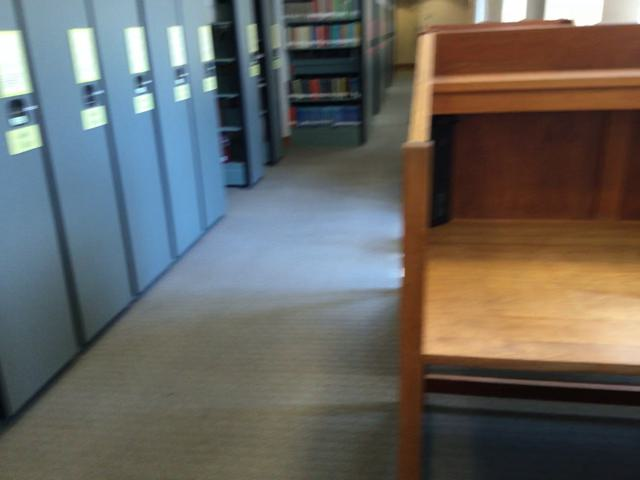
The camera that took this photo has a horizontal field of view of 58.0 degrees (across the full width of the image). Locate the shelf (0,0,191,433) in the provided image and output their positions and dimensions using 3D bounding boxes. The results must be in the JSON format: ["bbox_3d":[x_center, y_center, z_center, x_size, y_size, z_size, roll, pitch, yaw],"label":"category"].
[{"bbox_3d":[-1.110,-0.470,2.620,0.180,1.970,1.610,-1,21,10],"label":"shelf"}]

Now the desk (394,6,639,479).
[{"bbox_3d":[0.890,0.120,1.530,1.300,1.380,1.010,-1,21,10],"label":"desk"}]
